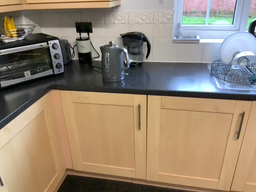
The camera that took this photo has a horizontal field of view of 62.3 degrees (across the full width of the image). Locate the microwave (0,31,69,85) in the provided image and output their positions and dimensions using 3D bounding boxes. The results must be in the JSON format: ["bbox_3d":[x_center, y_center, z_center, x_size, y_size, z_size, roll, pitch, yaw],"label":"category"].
[{"bbox_3d":[-0.780,-0.320,1.590,0.440,0.220,0.540,-20,31,-34],"label":"microwave"}]
